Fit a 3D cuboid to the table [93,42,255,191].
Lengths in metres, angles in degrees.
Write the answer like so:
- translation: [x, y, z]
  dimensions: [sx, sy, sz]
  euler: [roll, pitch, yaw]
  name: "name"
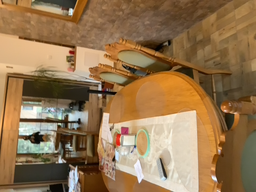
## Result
- translation: [0.340, 0.450, 1.990]
  dimensions: [1.890, 0.790, 1.110]
  euler: [161, 113, -63]
  name: "table"
